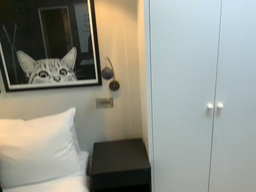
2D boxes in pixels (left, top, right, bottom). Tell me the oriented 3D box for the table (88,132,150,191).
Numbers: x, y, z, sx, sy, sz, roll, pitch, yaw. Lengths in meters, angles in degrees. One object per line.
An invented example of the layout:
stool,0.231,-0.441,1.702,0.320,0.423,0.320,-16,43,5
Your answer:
table,-0.050,0.710,1.700,0.400,0.660,0.470,-4,19,-1

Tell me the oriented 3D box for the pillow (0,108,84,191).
pillow,-0.600,0.380,1.460,0.510,0.450,0.240,-9,31,-13

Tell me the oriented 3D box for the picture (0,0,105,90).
picture,-0.570,-0.560,1.500,0.710,1.010,0.010,-5,19,-3
